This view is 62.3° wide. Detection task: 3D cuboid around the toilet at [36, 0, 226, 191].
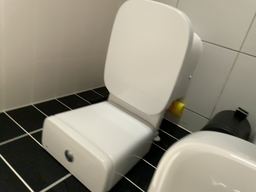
[{"bbox_3d":[0.050,-0.080,0.980,0.380,0.760,0.630,28,118,27],"label":"toilet"}]
